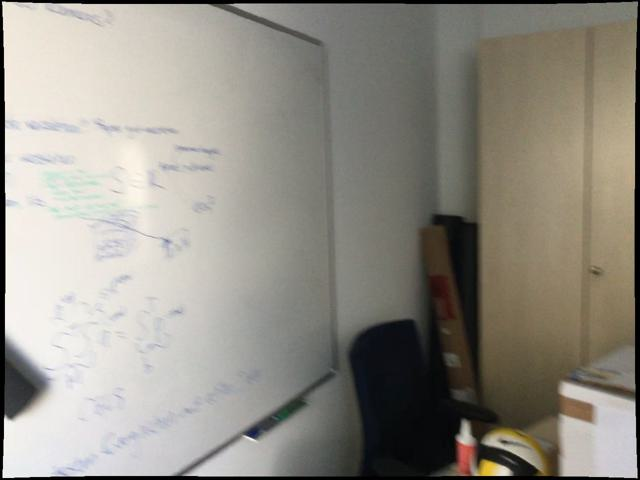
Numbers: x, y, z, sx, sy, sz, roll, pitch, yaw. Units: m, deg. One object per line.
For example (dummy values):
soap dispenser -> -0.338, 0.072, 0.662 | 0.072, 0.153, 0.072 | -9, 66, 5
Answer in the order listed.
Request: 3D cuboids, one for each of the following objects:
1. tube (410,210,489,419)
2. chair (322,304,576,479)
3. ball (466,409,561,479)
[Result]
tube -> 0.659, 0.350, 2.900 | 0.300, 0.971, 0.300 | 2, 9, 30
chair -> 0.480, 0.831, 2.030 | 0.689, 1.031, 0.610 | 2, 9, 30
ball -> 0.519, 0.601, 1.550 | 0.210, 0.200, 0.170 | 2, 9, 30
